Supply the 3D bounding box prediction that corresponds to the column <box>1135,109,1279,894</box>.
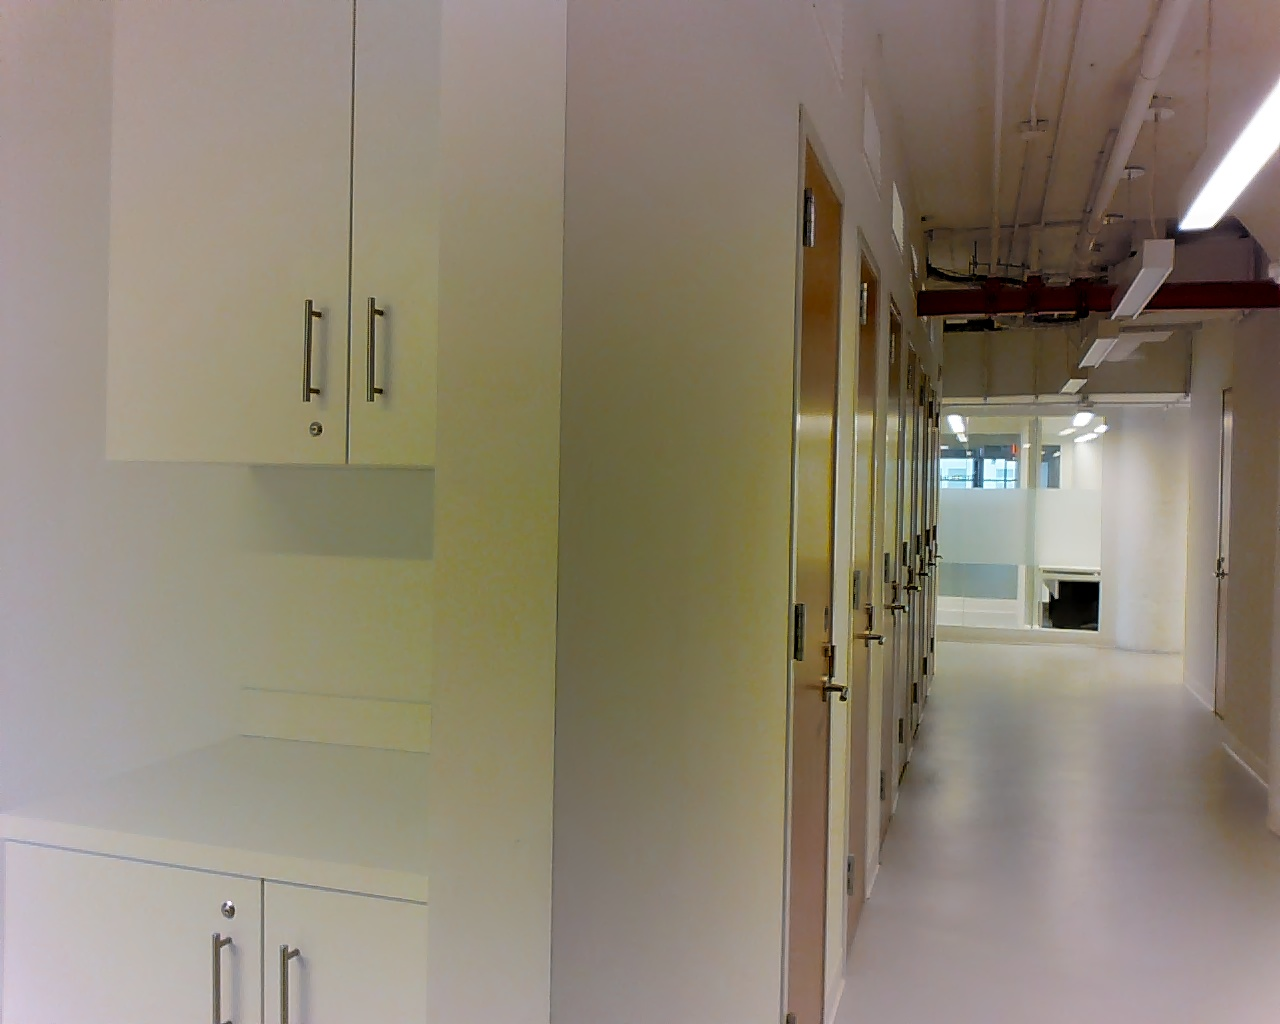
[{"bbox_3d":[2.589,-0.040,4.620,0.600,2.931,1.300,1,1,17],"label":"column"}]
